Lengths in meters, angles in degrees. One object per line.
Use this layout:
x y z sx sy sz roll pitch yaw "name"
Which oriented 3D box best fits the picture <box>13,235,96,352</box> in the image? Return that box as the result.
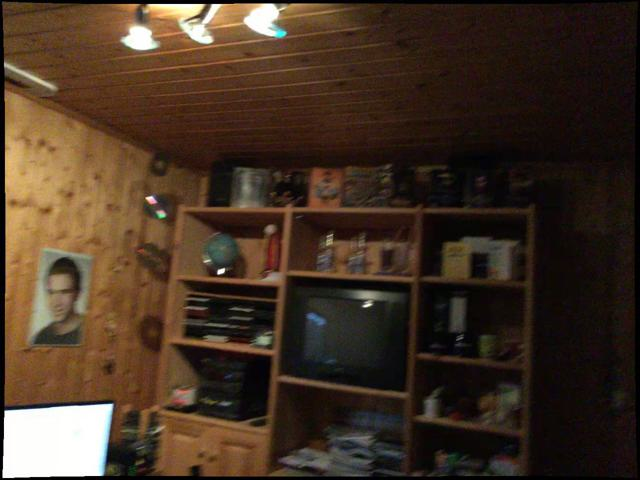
-1.189 0.250 2.620 0.050 0.480 0.310 1 -14 22 "picture"
